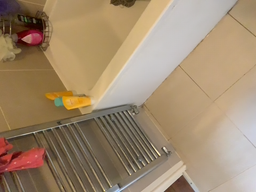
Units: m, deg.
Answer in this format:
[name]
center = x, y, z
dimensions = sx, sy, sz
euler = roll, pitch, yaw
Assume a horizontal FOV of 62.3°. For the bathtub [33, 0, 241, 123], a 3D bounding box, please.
[bathtub]
center = 0.170, -0.700, 1.090
dimensions = 0.750, 0.540, 1.630
euler = 52, 124, 21
